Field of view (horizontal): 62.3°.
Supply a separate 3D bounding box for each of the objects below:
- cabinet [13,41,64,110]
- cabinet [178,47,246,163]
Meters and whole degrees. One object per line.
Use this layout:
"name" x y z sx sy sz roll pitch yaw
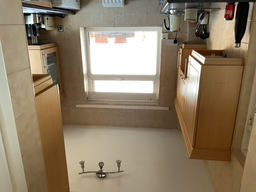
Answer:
"cabinet" -1.240 -0.320 3.060 0.330 0.860 0.600 1 -161 5
"cabinet" 0.710 0.040 1.980 0.340 0.900 0.640 2 -161 6
